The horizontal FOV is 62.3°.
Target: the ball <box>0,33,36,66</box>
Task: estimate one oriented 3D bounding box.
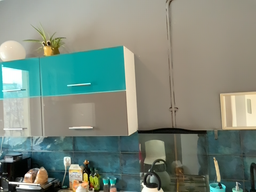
[{"bbox_3d":[-1.210,-0.470,2.210,0.320,0.240,0.330,-3,-2,16],"label":"ball"}]
